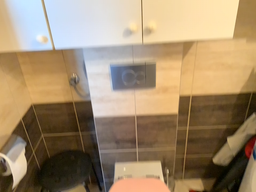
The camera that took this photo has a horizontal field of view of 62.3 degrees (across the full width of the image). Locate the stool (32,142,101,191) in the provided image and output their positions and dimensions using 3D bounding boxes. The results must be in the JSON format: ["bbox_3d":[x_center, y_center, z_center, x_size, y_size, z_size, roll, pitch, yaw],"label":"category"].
[{"bbox_3d":[-0.370,0.580,1.410,0.300,0.440,0.300,-3,30,1],"label":"stool"}]
